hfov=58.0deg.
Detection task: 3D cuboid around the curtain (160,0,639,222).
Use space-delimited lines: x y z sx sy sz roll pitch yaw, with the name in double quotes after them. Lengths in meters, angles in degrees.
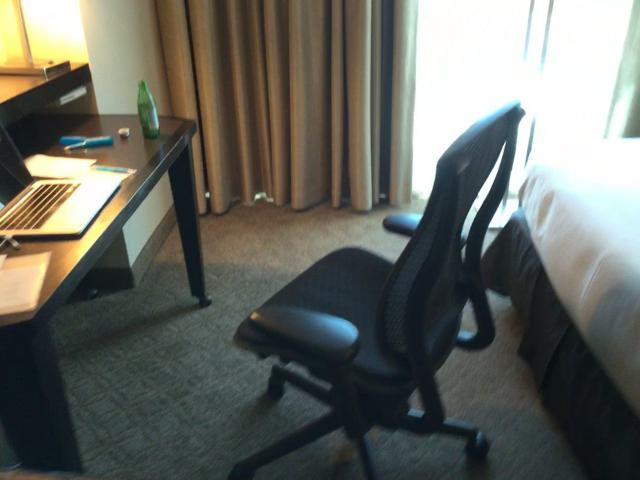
1.000 -1.100 2.680 3.400 2.030 0.390 0 25 2 "curtain"
